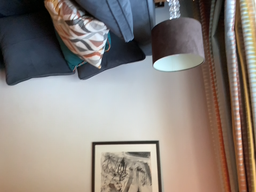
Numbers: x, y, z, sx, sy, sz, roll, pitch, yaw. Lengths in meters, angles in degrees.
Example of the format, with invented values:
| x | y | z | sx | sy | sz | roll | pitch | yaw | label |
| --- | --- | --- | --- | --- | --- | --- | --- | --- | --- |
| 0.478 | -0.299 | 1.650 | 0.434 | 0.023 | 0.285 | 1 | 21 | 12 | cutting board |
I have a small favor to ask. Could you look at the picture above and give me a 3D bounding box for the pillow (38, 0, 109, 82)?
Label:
| x | y | z | sx | sy | sz | roll | pitch | yaw | label |
| --- | --- | --- | --- | --- | --- | --- | --- | --- | --- |
| -0.310 | -0.380 | 1.210 | 0.150 | 0.450 | 0.480 | -35 | 166 | -14 | pillow |
